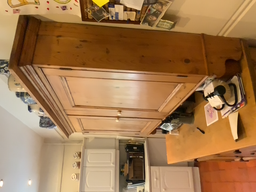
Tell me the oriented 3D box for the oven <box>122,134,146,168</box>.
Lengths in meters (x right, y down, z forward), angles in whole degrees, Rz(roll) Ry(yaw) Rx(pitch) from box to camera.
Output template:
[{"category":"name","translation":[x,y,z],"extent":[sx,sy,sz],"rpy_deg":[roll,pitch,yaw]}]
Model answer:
[{"category":"oven","translation":[0.100,1.020,3.890],"extent":[0.470,0.370,0.540],"rpy_deg":[110,162,-67]}]
